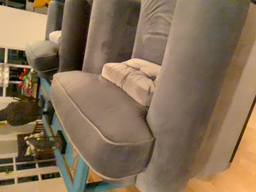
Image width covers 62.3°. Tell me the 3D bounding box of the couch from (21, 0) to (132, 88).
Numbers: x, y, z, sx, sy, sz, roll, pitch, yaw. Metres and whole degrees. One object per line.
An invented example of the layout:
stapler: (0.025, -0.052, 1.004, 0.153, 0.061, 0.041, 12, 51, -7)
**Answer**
couch: (-0.730, -0.800, 2.630, 1.180, 0.910, 1.030, 36, 118, 53)

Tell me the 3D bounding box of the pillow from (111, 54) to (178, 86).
pillow: (0.060, -0.170, 1.250, 0.540, 0.290, 0.060, -115, 35, -73)

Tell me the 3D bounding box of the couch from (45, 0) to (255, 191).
couch: (0.120, -0.250, 1.270, 1.130, 0.880, 1.060, 36, 118, 53)
